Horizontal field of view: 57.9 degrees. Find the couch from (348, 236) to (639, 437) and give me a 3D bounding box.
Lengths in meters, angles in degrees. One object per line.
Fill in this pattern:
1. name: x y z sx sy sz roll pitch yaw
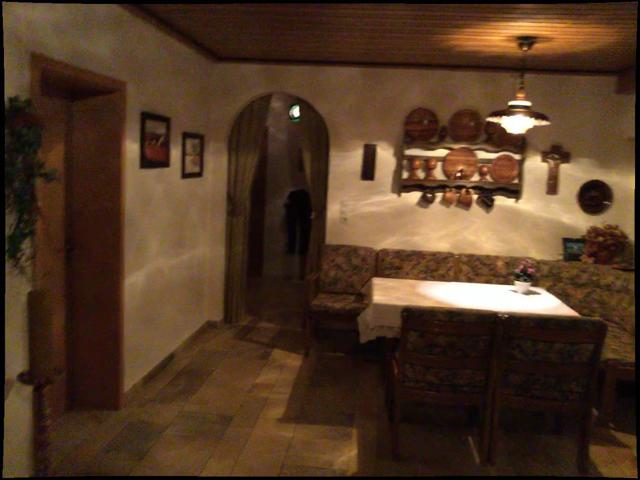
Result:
1. couch: 1.508 0.591 4.220 2.428 0.901 1.550 3 8 8
